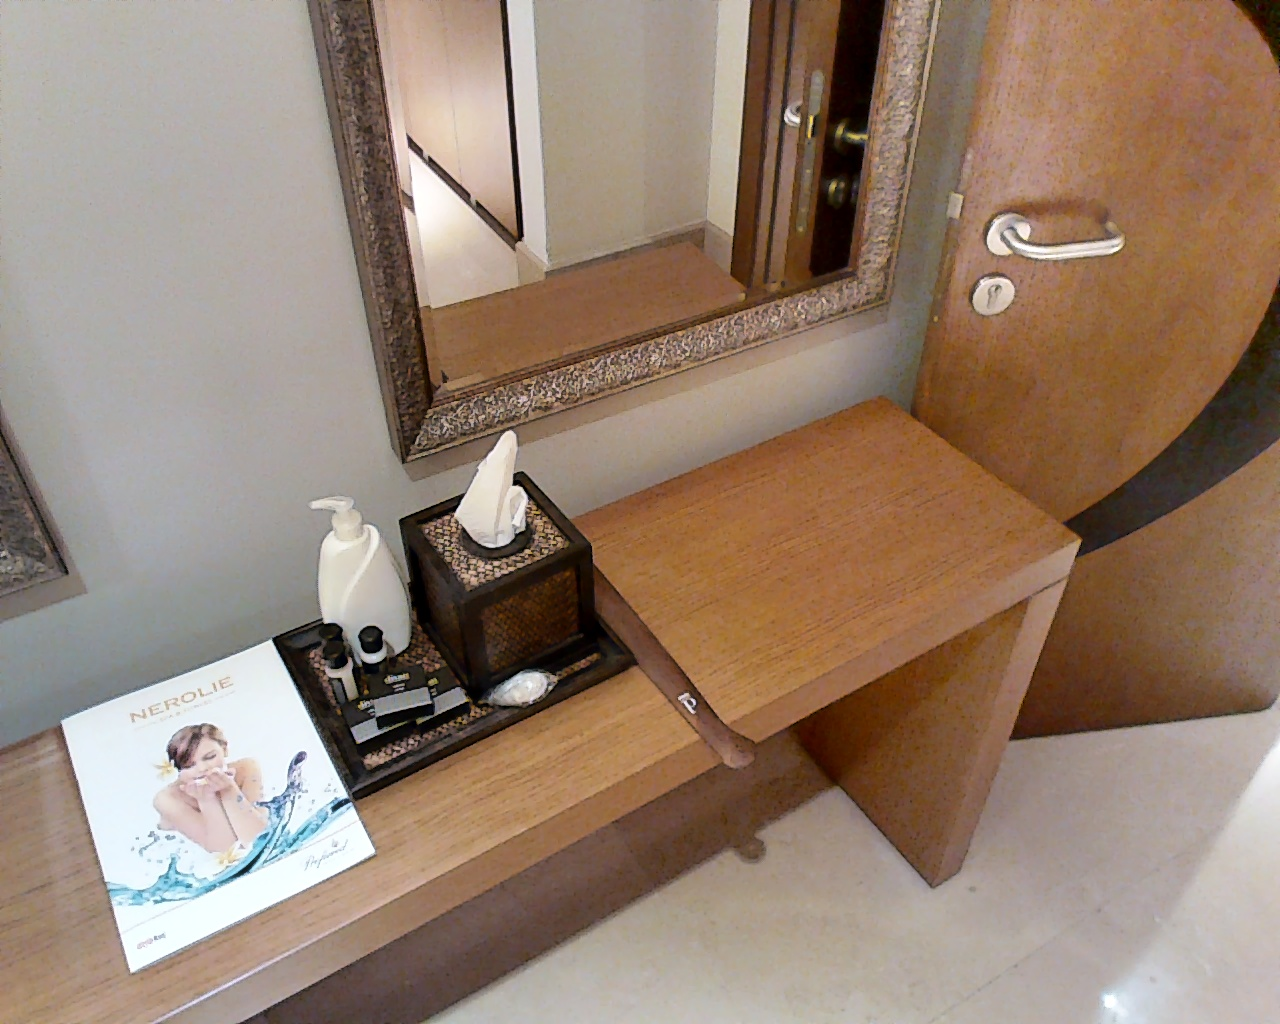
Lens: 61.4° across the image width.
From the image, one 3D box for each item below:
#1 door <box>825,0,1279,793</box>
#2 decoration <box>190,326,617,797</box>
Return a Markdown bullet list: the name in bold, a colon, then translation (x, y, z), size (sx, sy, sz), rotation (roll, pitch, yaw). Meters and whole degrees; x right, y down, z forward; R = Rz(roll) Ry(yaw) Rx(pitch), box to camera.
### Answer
- **door**: translation (0.750, -0.370, 1.260), size (0.800, 2.170, 0.090), rotation (-5, 42, -6)
- **decoration**: translation (-0.220, 0.040, 1.070), size (0.310, 0.290, 0.250), rotation (-21, 46, -22)
